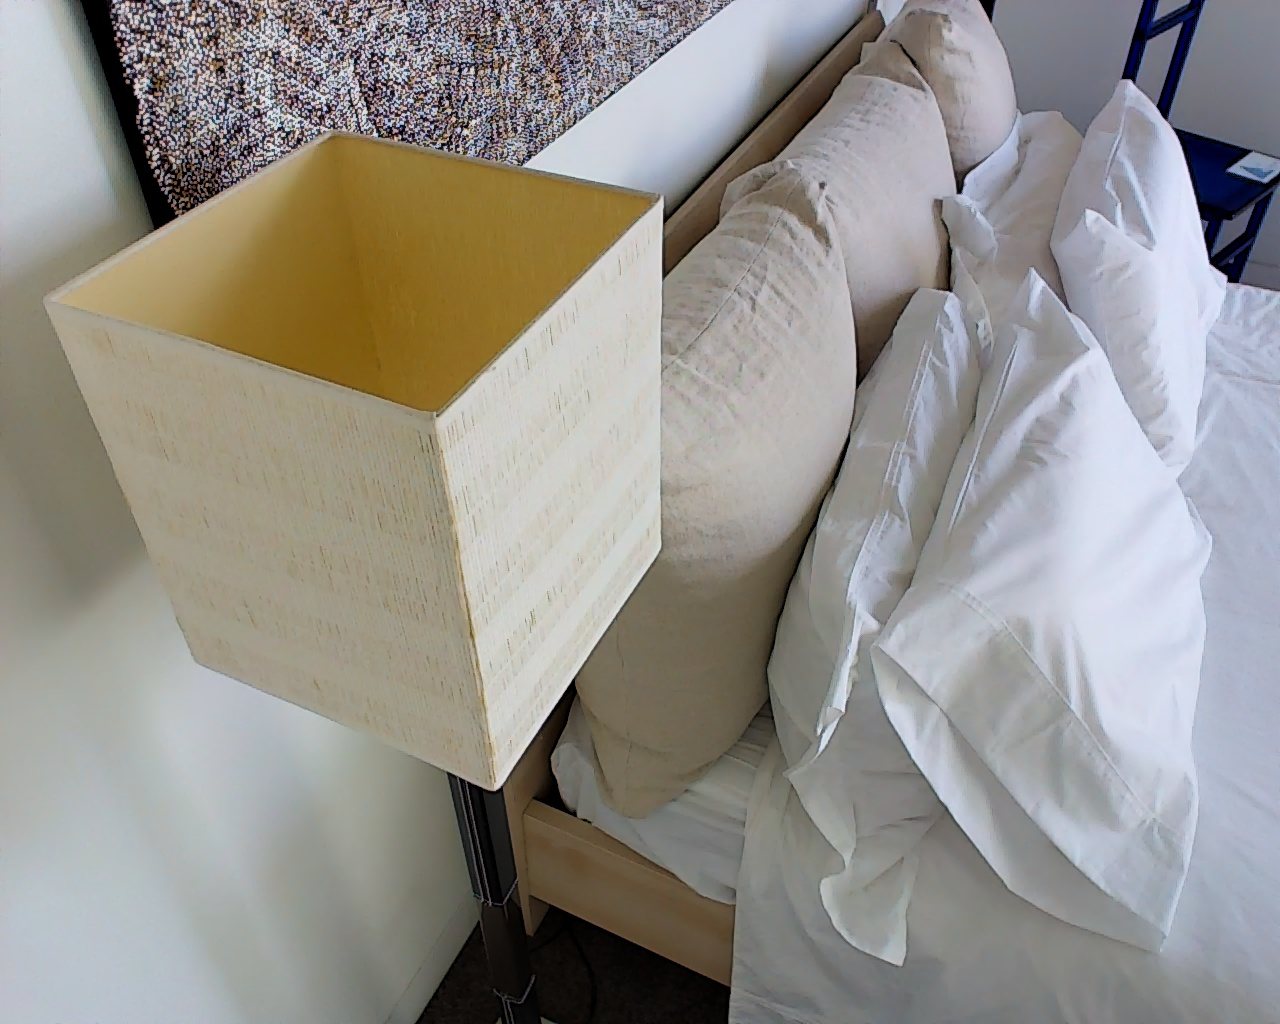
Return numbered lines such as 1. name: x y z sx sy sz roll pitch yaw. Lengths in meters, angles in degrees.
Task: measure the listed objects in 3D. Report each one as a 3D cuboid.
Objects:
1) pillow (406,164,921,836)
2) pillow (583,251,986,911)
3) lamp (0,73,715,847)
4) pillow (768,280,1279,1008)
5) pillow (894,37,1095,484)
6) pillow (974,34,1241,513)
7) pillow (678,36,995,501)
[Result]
1. pillow: 0.090 -0.050 1.300 0.330 0.510 0.600 11 43 25
2. pillow: 0.240 0.020 1.320 0.180 0.350 0.810 7 41 28
3. lamp: -0.170 -0.050 0.710 0.340 0.330 0.290 18 45 19
4. pillow: 0.500 0.080 1.280 0.420 0.300 0.780 18 45 19
5. pillow: 0.630 -0.470 1.840 0.140 0.400 0.860 9 42 26
6. pillow: 0.810 -0.410 1.770 0.260 0.450 0.760 -1 37 33
7. pillow: 0.340 -0.380 1.660 0.290 0.510 0.490 6 41 28
